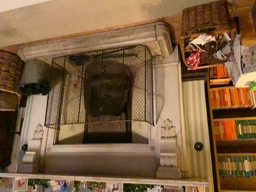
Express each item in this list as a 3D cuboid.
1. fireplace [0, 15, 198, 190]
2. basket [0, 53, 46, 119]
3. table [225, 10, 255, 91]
[{"bbox_3d":[-0.290,0.150,2.100,1.770,1.270,0.770,-5,163,17],"label":"fireplace"},{"bbox_3d":[-1.340,-0.090,2.490,0.450,0.620,0.460,-4,163,16],"label":"basket"},{"bbox_3d":[1.080,-0.360,1.740,0.430,0.490,0.460,-5,162,19],"label":"table"}]
